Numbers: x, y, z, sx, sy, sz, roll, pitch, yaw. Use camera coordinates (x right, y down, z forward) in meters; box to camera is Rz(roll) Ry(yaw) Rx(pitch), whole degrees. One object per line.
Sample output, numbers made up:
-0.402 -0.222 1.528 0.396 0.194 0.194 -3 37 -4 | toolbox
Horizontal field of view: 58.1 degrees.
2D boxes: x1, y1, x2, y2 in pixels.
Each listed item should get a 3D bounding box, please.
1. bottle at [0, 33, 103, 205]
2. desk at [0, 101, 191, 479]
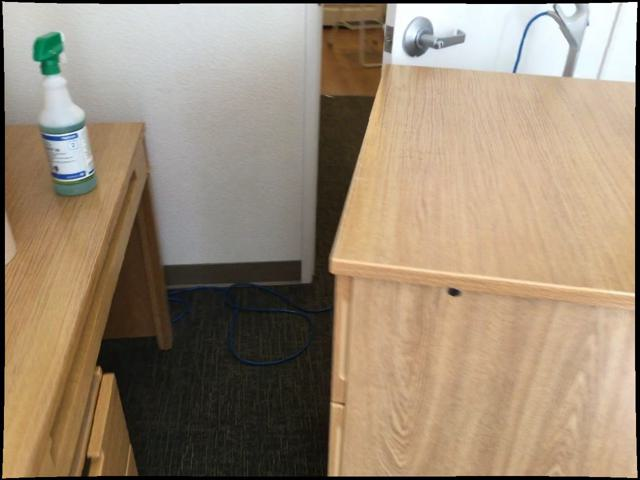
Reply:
-0.519 -0.231 1.120 0.110 0.301 0.120 -3 34 -7 | bottle
-0.698 0.341 1.180 0.698 0.821 1.221 -3 34 -7 | desk
